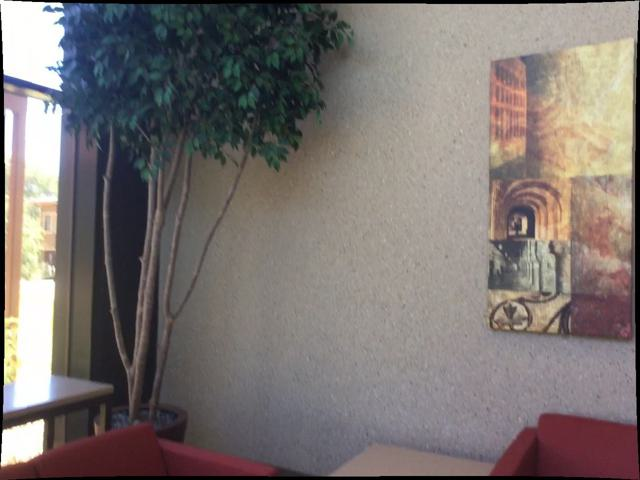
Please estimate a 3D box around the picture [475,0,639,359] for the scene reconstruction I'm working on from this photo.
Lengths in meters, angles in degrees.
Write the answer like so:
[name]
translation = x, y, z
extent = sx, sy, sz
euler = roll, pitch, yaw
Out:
[picture]
translation = 1.907, -0.300, 2.570
extent = 2.307, 1.703, 0.320
euler = 0, -6, 32
